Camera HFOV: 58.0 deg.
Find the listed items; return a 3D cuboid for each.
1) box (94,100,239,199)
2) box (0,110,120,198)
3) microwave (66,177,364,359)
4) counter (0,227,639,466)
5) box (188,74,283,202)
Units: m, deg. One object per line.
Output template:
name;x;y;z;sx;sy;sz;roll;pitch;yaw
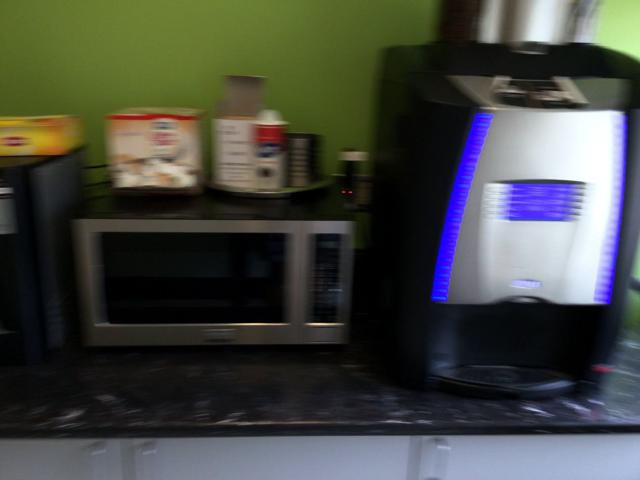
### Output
box;-0.360;-0.230;1.430;0.300;0.200;0.250;1;17;-4
box;-0.630;-0.200;1.320;0.290;0.170;0.160;1;17;-4
microwave;-0.230;0.060;1.390;0.620;0.360;0.260;1;17;-4
counter;-0.090;0.200;1.410;1.790;0.230;0.760;1;17;-4
box;-0.200;-0.260;1.430;0.210;0.280;0.230;1;17;-4
